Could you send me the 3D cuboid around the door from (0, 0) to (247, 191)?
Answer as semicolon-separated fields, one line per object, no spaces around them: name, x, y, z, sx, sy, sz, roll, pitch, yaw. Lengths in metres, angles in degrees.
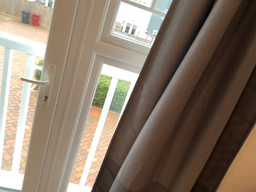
door;-0.680;-0.220;1.020;2.200;2.130;0.070;15;23;-11
